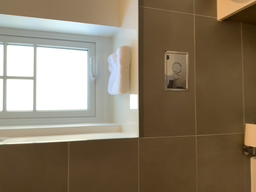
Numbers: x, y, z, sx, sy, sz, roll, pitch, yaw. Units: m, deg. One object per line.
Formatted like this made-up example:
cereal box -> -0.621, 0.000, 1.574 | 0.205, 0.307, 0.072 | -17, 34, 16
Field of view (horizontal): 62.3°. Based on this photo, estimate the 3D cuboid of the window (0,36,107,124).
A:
window -> -0.550, -0.090, 1.270 | 0.020, 0.860, 0.500 | 172, 98, -72
